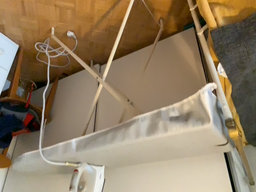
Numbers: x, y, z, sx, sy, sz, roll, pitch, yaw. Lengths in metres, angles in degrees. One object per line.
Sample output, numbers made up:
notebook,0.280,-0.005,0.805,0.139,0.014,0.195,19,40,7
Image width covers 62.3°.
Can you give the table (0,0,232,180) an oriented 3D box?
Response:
table,-0.150,-0.080,1.150,1.080,0.870,0.360,-16,145,25
